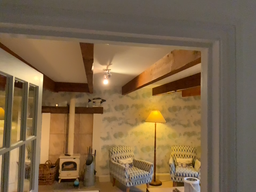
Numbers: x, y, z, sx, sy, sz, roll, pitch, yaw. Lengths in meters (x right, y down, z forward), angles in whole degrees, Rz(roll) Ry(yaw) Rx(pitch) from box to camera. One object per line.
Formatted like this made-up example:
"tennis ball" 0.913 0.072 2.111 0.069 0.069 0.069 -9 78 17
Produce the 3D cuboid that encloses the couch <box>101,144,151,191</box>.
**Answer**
"couch" -0.060 1.560 4.700 0.730 0.820 0.860 3 -4 -33
